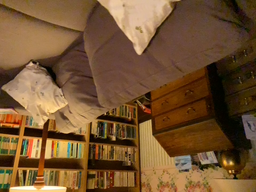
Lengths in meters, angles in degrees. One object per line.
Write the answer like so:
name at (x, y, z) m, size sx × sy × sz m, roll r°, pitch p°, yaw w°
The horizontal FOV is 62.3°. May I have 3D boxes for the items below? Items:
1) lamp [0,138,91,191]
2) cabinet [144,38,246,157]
lamp at (-0.790, 0.830, 1.950) m, size 0.640 × 0.730 × 0.640 m, roll 13°, pitch 154°, yaw -31°
cabinet at (0.580, 0.080, 2.120) m, size 0.410 × 0.930 × 0.790 m, roll 12°, pitch 155°, yaw -30°
